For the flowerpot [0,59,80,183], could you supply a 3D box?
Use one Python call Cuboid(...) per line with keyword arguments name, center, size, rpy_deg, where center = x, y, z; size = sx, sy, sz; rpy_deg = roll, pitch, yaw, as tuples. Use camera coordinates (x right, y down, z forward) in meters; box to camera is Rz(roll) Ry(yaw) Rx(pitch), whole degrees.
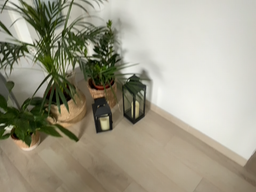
Cuboid(name="flowerpot", center=(-0.690, 0.160, 1.440), size=(0.420, 0.550, 0.470), rpy_deg=(33, 53, 30))
